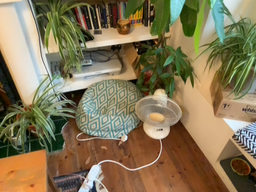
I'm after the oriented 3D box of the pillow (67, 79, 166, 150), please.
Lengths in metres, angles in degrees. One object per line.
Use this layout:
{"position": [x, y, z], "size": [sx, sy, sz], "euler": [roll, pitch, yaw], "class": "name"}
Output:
{"position": [-0.110, 0.130, 1.830], "size": [0.720, 0.190, 0.430], "euler": [-13, 46, -16], "class": "pillow"}
